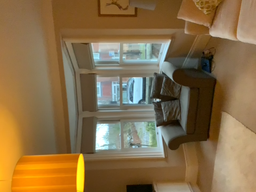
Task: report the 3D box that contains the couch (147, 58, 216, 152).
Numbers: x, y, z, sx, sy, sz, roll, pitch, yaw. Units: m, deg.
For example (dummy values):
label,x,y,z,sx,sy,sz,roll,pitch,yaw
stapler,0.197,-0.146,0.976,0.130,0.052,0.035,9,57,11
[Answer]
label,x,y,z,sx,sy,sz,roll,pitch,yaw
couch,0.960,0.120,4.260,1.060,0.940,1.570,-102,12,-71
